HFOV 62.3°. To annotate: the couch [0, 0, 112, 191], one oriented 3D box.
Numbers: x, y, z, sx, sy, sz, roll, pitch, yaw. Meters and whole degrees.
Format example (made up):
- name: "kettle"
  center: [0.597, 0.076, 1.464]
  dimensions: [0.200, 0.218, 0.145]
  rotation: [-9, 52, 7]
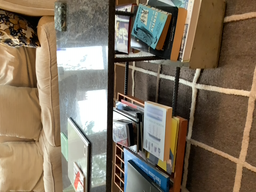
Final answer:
- name: "couch"
  center: [-0.740, 0.250, 1.750]
  dimensions: [0.960, 0.770, 2.190]
  rotation: [25, 117, 53]
